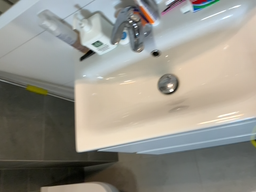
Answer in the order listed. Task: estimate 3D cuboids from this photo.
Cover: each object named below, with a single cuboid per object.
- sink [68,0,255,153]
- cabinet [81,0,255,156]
[{"bbox_3d":[0.090,-0.050,0.670,0.610,0.150,0.360,-17,67,26],"label":"sink"},{"bbox_3d":[0.240,0.020,0.910,0.600,0.600,0.370,-17,67,26],"label":"cabinet"}]
